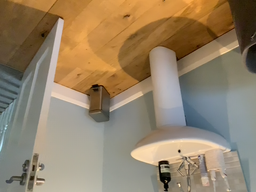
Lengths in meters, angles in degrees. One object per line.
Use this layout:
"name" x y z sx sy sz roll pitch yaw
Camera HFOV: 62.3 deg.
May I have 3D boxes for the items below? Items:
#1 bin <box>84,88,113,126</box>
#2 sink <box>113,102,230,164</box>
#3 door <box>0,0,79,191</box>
"bin" -0.300 0.120 2.190 0.230 0.300 0.180 20 144 -34
"sink" 0.250 0.270 1.330 0.410 0.160 0.570 24 142 -37
"door" -0.620 0.490 1.140 0.110 2.090 0.940 20 144 -34
